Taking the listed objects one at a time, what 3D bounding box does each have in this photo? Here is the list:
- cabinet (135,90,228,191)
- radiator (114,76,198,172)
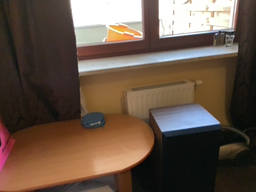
[{"bbox_3d":[0.310,0.390,1.460,0.360,0.670,0.530,-9,24,-12],"label":"cabinet"},{"bbox_3d":[0.230,0.230,1.720,0.620,0.710,0.120,-9,24,-12],"label":"radiator"}]
